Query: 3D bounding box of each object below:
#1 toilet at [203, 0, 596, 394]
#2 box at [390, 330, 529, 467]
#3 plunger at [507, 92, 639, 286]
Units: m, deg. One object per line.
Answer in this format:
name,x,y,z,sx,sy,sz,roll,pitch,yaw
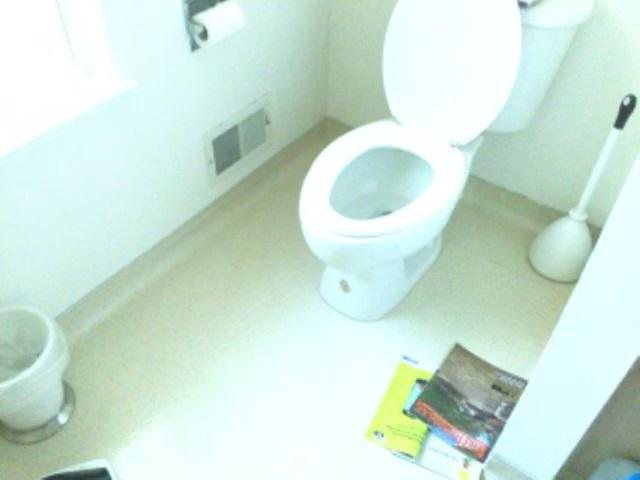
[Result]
toilet,0.230,-0.250,1.460,0.510,0.840,0.780,26,50,26
box,0.340,0.370,1.400,0.230,0.040,0.270,26,49,27
plunger,0.690,-0.130,1.600,0.180,0.470,0.200,26,50,26
